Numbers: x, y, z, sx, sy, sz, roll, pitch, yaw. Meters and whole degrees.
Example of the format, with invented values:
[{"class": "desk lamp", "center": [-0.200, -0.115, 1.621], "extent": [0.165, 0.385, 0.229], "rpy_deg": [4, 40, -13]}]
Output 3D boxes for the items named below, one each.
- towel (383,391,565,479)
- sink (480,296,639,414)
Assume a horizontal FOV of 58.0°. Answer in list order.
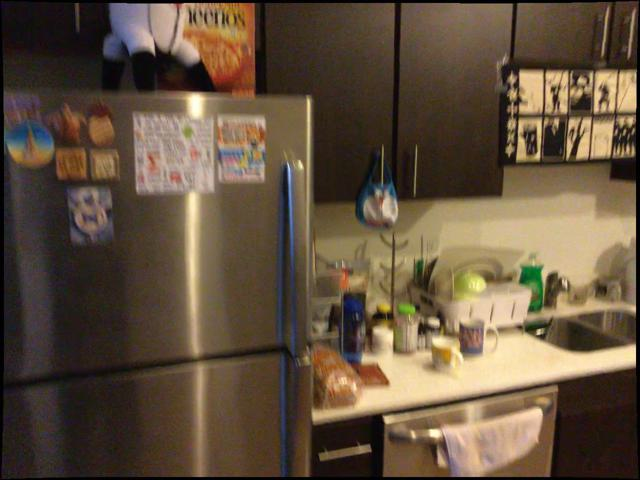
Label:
[{"class": "towel", "center": [0.429, 0.581, 1.600], "extent": [0.519, 0.231, 0.080], "rpy_deg": [-4, 16, -20]}, {"class": "sink", "center": [0.988, 0.401, 2.140], "extent": [0.639, 0.200, 0.380], "rpy_deg": [-4, 16, -20]}]
